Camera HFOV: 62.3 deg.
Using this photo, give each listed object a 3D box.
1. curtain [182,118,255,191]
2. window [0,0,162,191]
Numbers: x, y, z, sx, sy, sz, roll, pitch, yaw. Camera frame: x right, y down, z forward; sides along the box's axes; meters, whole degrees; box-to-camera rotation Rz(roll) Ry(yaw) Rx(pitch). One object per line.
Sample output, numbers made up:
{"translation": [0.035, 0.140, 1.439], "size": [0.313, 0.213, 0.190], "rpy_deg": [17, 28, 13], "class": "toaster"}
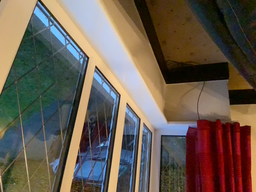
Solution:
{"translation": [0.780, 1.010, 1.760], "size": [0.620, 1.610, 0.360], "rpy_deg": [-2, 154, 16], "class": "curtain"}
{"translation": [-0.270, 0.470, 0.880], "size": [0.290, 1.700, 2.820], "rpy_deg": [-3, 154, 19], "class": "window"}
